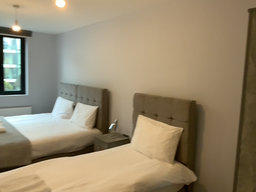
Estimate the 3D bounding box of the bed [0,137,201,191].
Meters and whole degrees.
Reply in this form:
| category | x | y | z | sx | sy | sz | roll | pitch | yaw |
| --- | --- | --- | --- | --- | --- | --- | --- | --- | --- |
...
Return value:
| category | x | y | z | sx | sy | sz | roll | pitch | yaw |
| --- | --- | --- | --- | --- | --- | --- | --- | --- | --- |
| bed | -0.280 | 0.980 | 2.180 | 2.000 | 0.550 | 1.000 | -3 | 8 | -38 |

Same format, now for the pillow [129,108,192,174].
| category | x | y | z | sx | sy | sz | roll | pitch | yaw |
| --- | --- | --- | --- | --- | --- | --- | --- | --- | --- |
| pillow | 0.350 | 0.500 | 2.560 | 0.180 | 0.460 | 0.760 | -3 | 20 | -39 |

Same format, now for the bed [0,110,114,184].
| category | x | y | z | sx | sy | sz | roll | pitch | yaw |
| --- | --- | --- | --- | --- | --- | --- | --- | --- | --- |
| bed | -1.670 | 0.730 | 3.830 | 2.080 | 0.540 | 1.950 | -3 | 7 | -38 |
